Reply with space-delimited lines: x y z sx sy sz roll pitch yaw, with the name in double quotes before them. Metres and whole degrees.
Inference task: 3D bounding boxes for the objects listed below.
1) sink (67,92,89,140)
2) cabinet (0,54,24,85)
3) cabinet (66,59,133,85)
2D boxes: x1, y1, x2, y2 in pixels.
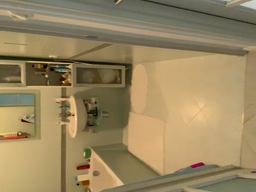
"sink" -0.650 0.230 2.710 0.460 0.180 0.540 9 99 63
"cabinet" -1.430 -0.290 2.370 0.310 0.470 0.320 9 99 63
"cabinet" -0.380 -0.310 2.890 0.300 0.850 0.300 9 99 63
